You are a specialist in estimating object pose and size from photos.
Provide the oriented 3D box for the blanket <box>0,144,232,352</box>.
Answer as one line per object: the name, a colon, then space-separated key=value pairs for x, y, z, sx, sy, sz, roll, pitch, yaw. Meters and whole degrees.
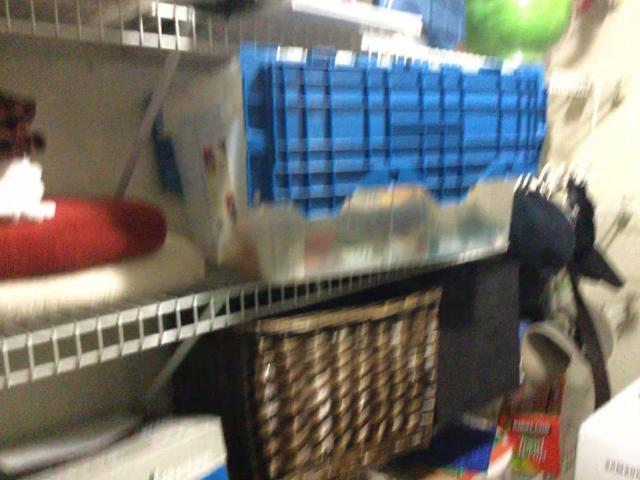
blanket: x=-0.350 y=0.000 z=0.770 sx=0.420 sy=0.230 sz=0.160 roll=-9 pitch=6 yaw=-42
